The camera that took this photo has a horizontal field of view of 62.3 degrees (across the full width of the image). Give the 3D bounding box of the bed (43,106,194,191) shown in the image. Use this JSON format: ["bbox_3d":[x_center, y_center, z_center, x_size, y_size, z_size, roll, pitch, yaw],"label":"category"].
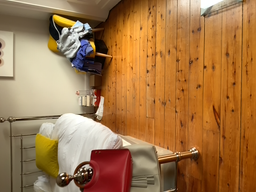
[{"bbox_3d":[-0.390,1.100,2.320,2.140,0.730,1.770,6,95,61],"label":"bed"}]

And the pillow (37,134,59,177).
[{"bbox_3d":[-0.990,0.700,2.600,0.510,0.180,0.400,-6,85,61],"label":"pillow"}]

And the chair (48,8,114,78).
[{"bbox_3d":[-0.680,-0.700,2.910,0.530,0.670,0.700,-58,42,43],"label":"chair"}]
